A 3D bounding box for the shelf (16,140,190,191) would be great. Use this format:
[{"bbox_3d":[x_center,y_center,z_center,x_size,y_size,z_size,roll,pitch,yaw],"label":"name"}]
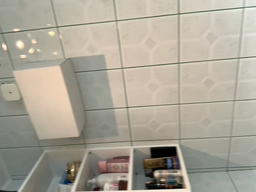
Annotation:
[{"bbox_3d":[-0.100,0.410,1.060,0.290,0.740,0.200,-82,-13,-66],"label":"shelf"}]
